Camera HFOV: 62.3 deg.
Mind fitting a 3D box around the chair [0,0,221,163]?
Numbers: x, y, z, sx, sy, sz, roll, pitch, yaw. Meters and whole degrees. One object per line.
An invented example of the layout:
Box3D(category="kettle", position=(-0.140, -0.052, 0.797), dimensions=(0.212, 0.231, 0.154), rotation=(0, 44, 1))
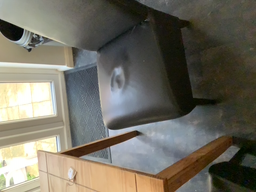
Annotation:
Box3D(category="chair", position=(-0.070, -0.170, 1.000), dimensions=(0.480, 1.090, 0.650), rotation=(-17, 82, 41))
